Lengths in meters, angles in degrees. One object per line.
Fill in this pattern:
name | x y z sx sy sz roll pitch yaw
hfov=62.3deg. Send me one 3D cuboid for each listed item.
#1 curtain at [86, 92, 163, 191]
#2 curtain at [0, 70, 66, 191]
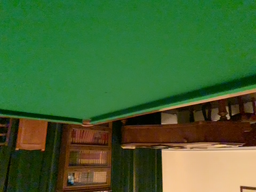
curtain | 0.020 1.550 4.550 1.820 3.000 0.300 13 161 -38
curtain | -1.860 1.120 3.030 1.570 2.950 0.380 12 161 -37
